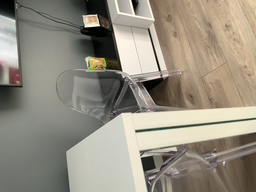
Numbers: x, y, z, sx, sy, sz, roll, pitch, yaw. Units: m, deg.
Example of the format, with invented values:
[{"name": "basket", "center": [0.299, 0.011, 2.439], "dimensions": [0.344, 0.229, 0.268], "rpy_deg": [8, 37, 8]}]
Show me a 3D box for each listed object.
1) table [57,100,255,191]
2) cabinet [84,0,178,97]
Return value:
[{"name": "table", "center": [0.180, 0.570, 1.060], "dimensions": [0.900, 0.780, 0.820], "rpy_deg": [-38, 59, 53]}, {"name": "cabinet", "center": [-0.100, -0.840, 1.860], "dimensions": [0.500, 0.400, 1.630], "rpy_deg": [-42, 55, 53]}]
